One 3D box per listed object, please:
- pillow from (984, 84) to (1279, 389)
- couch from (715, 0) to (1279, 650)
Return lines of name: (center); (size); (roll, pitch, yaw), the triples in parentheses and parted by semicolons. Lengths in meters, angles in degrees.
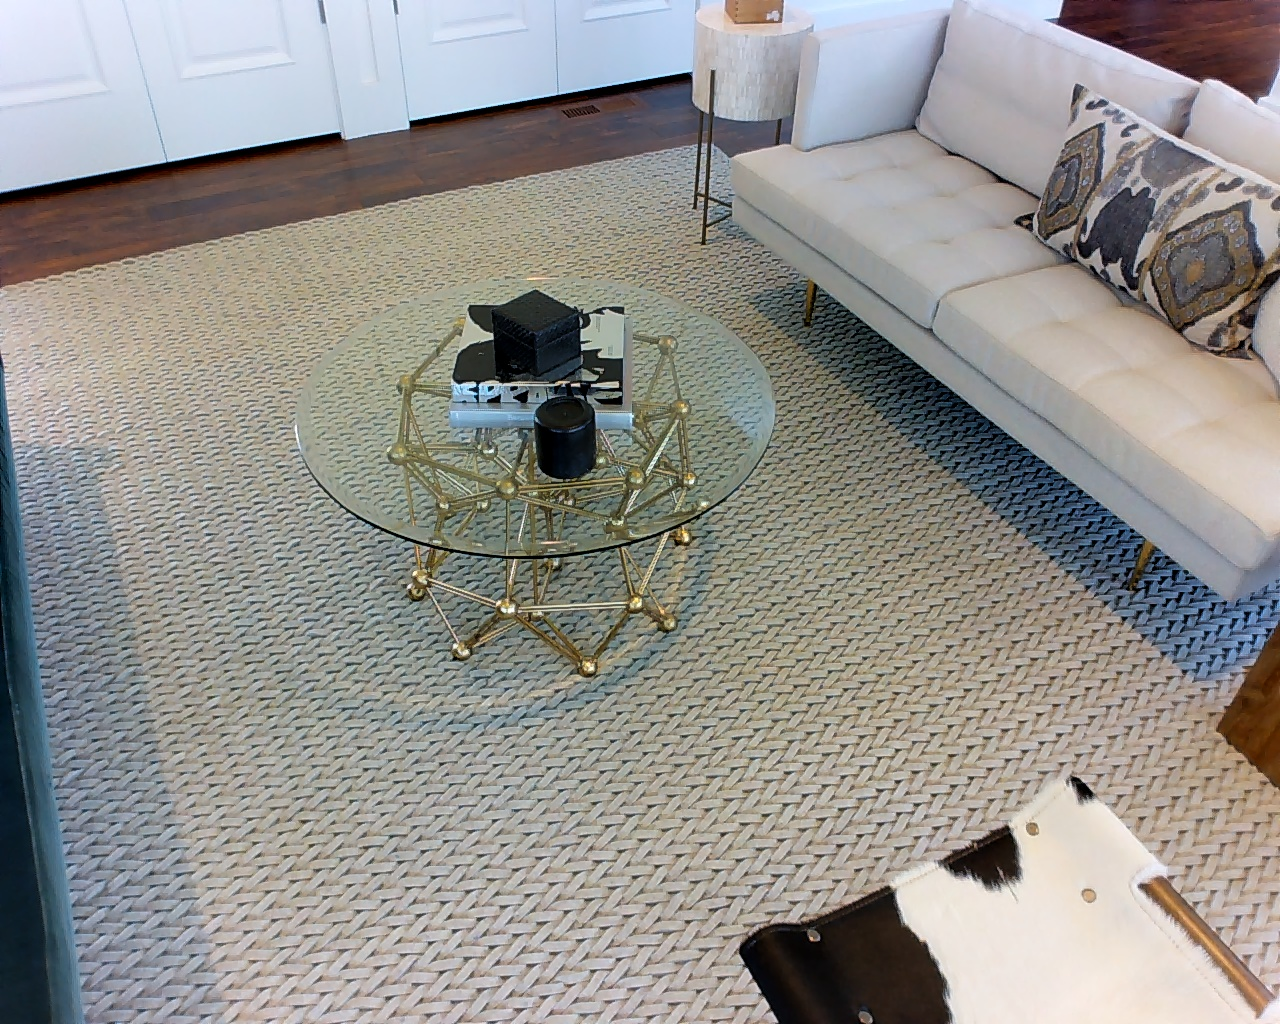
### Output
pillow: (1.060, -0.570, 2.180); (0.190, 0.340, 0.640); (4, 34, -37)
couch: (0.990, -0.610, 2.340); (0.880, 0.570, 1.700); (-18, 44, -21)
